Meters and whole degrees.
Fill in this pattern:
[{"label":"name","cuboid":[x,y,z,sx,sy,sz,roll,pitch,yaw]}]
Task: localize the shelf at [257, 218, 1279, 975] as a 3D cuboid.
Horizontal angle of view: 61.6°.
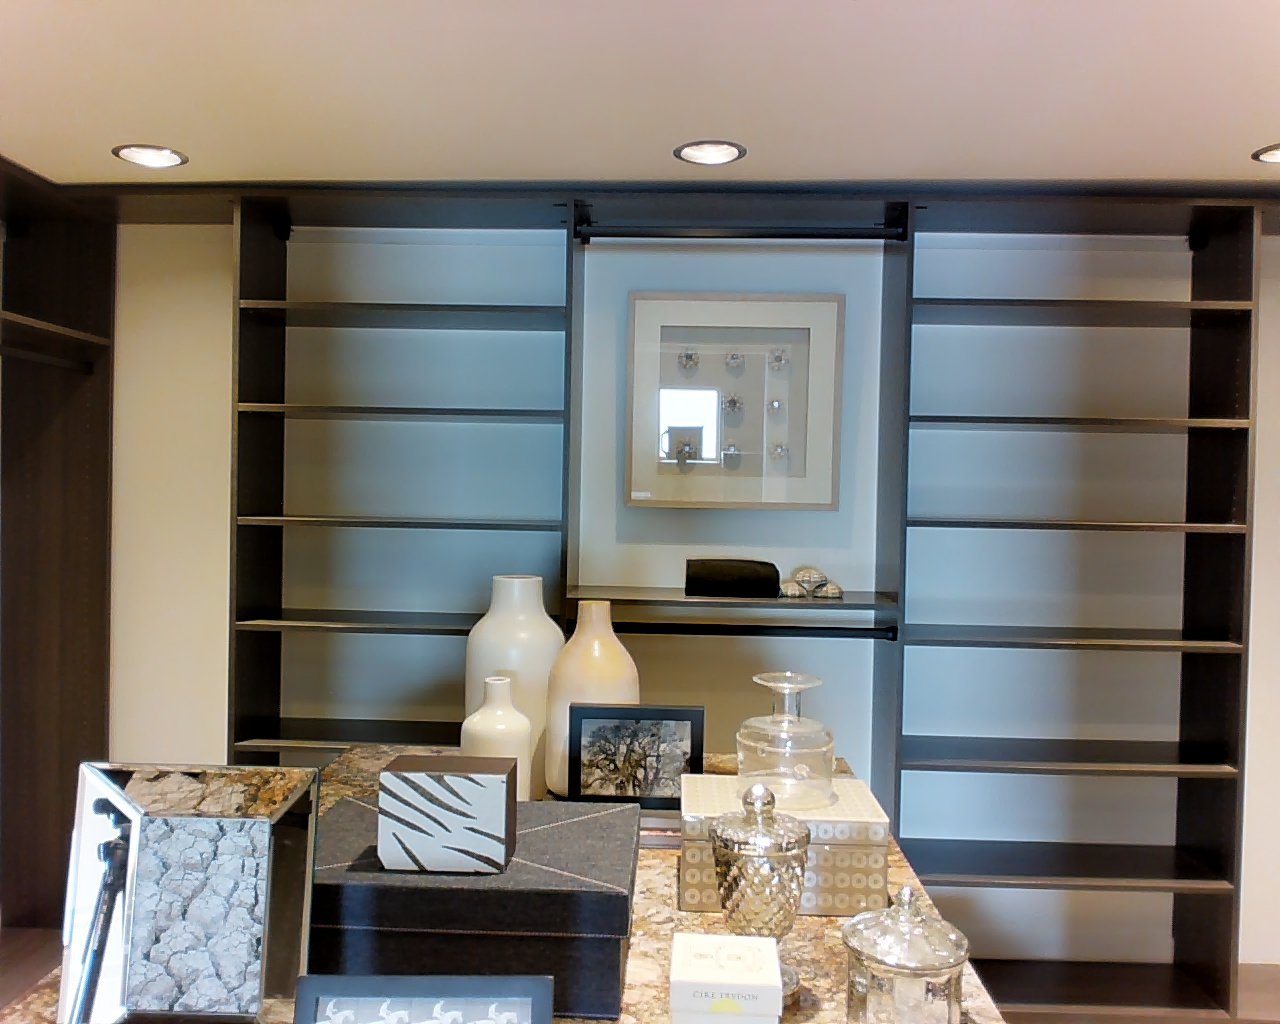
[{"label":"shelf","cuboid":[0.460,0.240,3.290,3.250,2.230,0.120,1,1,2]}]
